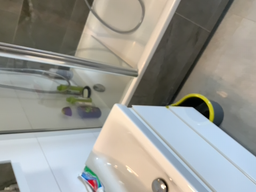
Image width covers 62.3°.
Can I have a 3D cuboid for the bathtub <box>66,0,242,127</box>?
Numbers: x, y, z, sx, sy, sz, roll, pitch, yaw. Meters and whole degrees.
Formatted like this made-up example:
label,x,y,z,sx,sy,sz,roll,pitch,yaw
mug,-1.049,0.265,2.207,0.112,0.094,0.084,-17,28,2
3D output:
label,x,y,z,sx,sy,sz,roll,pitch,yaw
bathtub,0.230,-0.640,1.490,0.720,0.590,1.580,44,117,37
